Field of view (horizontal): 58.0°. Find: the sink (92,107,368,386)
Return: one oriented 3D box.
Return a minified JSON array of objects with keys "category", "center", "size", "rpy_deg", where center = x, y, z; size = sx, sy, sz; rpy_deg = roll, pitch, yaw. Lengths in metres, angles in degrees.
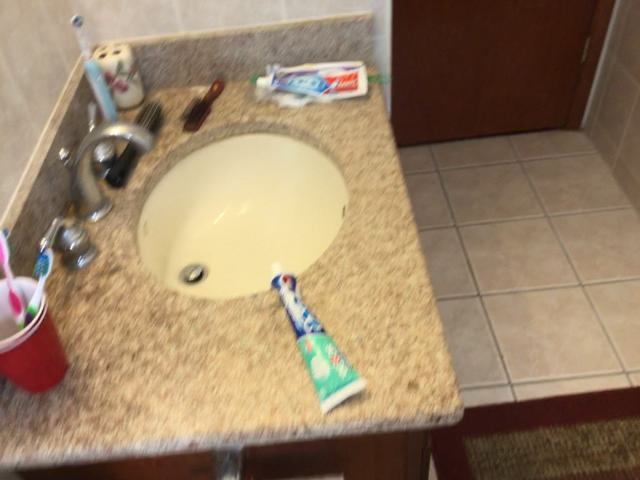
[{"category":"sink","center":[-0.130,-0.010,0.980],"size":[0.360,0.180,0.430],"rpy_deg":[-7,45,1]}]

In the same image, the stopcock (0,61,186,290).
[{"category":"stopcock","center":[-0.320,-0.110,0.880],"size":[0.160,0.160,0.330],"rpy_deg":[-7,45,1]}]
